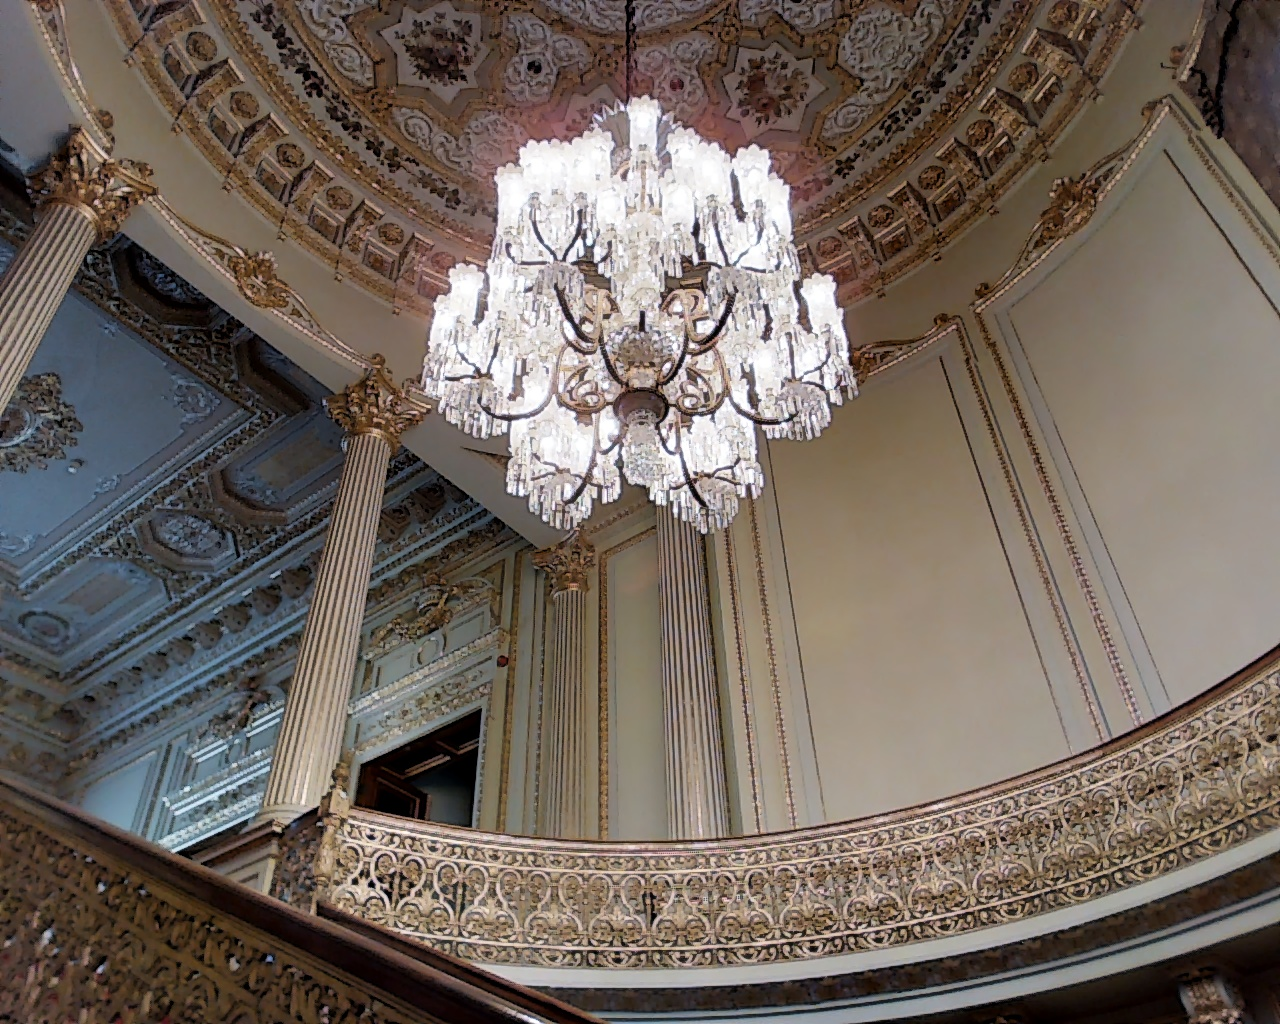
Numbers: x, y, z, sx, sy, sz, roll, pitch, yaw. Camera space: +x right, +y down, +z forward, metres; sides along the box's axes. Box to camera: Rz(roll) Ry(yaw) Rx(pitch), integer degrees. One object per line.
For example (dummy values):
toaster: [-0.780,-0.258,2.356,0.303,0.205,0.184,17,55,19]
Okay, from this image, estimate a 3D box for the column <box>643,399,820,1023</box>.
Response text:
column: [0.500,1.071,7.330,0.839,4.532,0.780,-3,-42,2]

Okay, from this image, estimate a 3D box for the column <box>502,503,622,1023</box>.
column: [-0.530,1.921,8.130,0.700,4.712,0.370,-28,-48,27]

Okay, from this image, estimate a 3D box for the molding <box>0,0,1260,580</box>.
molding: [-0.400,-2.912,6.520,5.658,1.431,6.850,-28,-48,27]
